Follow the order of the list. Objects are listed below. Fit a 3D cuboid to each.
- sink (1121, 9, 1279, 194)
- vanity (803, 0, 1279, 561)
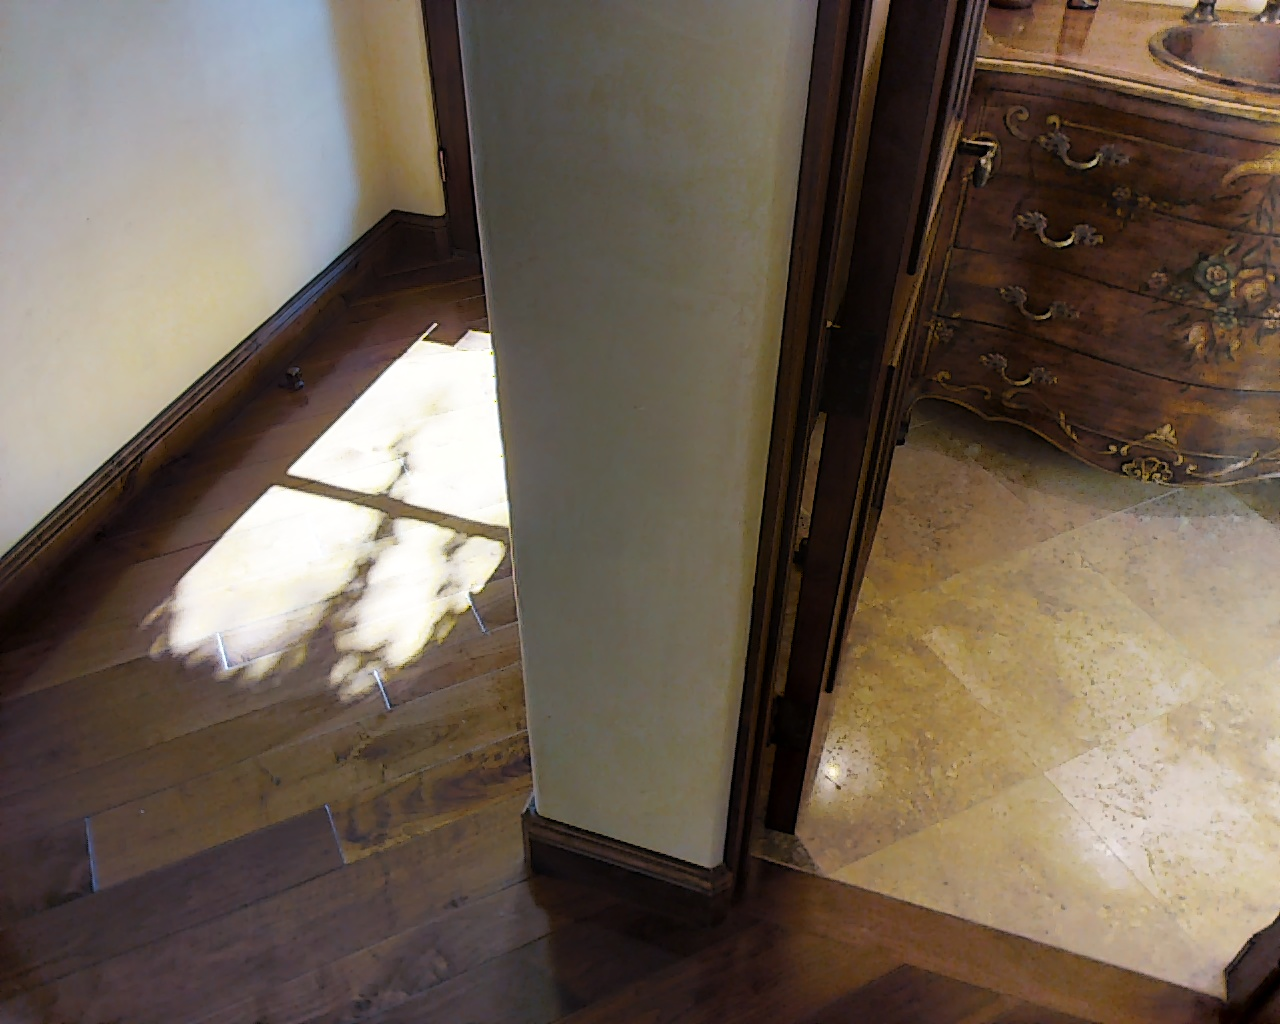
[{"bbox_3d":[1.200,-0.770,2.020,0.500,0.160,0.450,14,43,15],"label":"sink"},{"bbox_3d":[1.150,-0.500,2.290,1.400,0.930,0.580,13,43,14],"label":"vanity"}]
